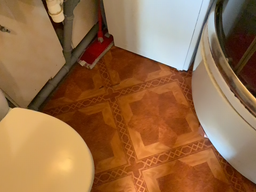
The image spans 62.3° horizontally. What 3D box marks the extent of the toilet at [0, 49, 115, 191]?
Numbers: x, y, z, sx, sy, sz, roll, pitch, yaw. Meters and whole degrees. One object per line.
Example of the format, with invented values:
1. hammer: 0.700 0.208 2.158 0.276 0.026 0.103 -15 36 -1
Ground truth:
1. toilet: -0.430 0.210 0.840 0.590 0.800 0.370 25 64 15
